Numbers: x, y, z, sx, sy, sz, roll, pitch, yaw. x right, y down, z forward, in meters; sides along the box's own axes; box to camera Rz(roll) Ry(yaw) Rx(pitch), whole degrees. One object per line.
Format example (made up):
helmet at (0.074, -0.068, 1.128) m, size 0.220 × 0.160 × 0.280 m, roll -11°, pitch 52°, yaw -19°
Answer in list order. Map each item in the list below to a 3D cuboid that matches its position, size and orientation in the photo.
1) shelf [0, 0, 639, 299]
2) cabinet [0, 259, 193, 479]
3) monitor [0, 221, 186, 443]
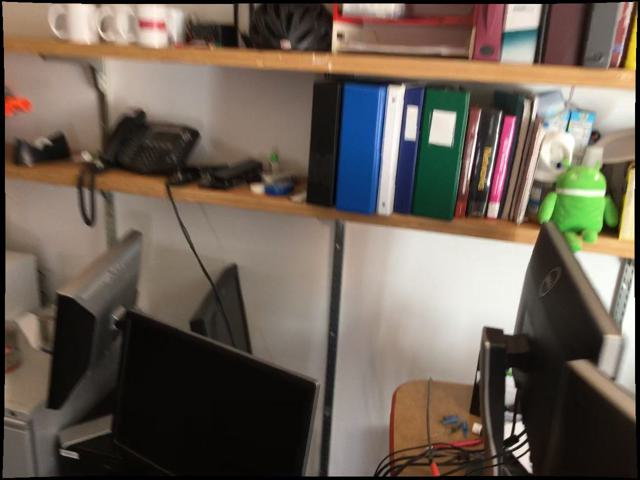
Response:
shelf at (-0.380, -0.511, 1.470) m, size 3.217 × 0.831 × 0.530 m, roll 8°, pitch 20°, yaw 12°
cabinet at (-0.799, 0.551, 1.800) m, size 0.530 × 0.721 × 0.690 m, roll 8°, pitch 20°, yaw 12°
monitor at (-0.579, 0.210, 1.560) m, size 0.210 × 0.370 × 0.510 m, roll 8°, pitch 20°, yaw 12°
